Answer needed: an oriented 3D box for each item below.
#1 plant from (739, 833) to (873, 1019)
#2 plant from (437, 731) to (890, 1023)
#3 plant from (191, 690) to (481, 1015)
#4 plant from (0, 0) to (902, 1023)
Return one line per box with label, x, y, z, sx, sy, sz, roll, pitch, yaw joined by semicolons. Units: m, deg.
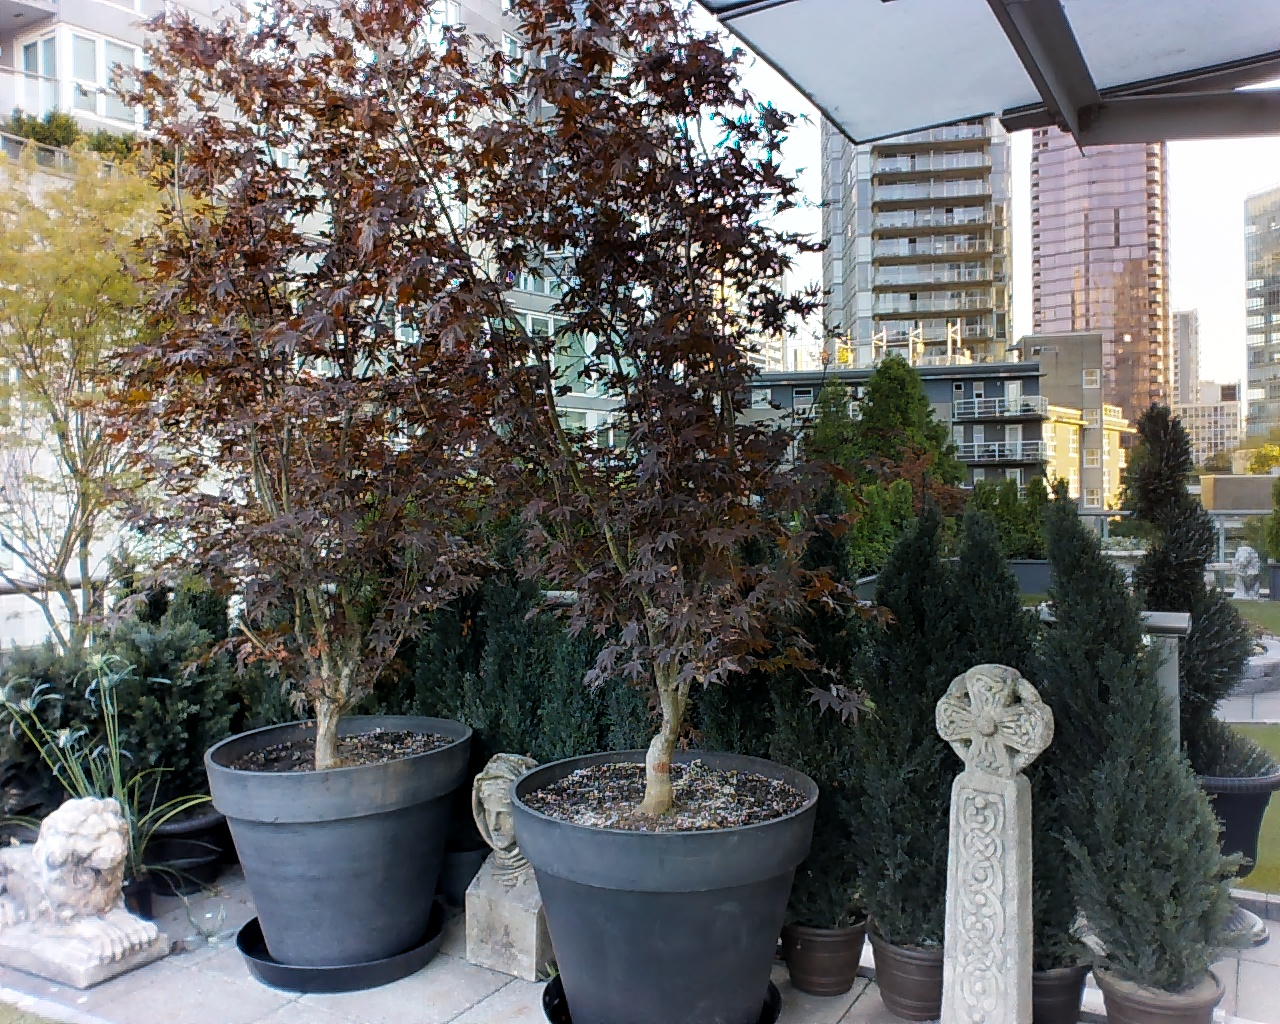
plant;0.470;1.160;3.050;0.310;0.390;0.200;0;1;40
plant;0.070;1.020;2.840;0.880;0.630;0.800;0;1;39
plant;-0.950;1.010;3.440;0.770;0.690;0.880;-1;1;-15
plant;-0.950;0.010;3.090;2.860;2.781;1.870;0;1;31
